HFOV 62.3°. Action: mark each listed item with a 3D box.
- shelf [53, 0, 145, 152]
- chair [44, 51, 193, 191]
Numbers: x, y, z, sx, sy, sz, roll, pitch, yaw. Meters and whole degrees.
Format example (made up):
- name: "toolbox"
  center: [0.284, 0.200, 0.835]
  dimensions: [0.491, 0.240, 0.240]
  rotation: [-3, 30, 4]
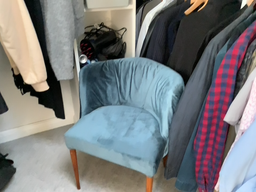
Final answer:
- name: "shelf"
  center: [-0.190, -0.370, 1.360]
  dimensions: [0.430, 1.440, 0.400]
  rotation: [-14, 33, -23]
- name: "chair"
  center: [-0.010, 0.180, 1.190]
  dimensions: [0.550, 0.660, 0.520]
  rotation: [13, 32, 21]
